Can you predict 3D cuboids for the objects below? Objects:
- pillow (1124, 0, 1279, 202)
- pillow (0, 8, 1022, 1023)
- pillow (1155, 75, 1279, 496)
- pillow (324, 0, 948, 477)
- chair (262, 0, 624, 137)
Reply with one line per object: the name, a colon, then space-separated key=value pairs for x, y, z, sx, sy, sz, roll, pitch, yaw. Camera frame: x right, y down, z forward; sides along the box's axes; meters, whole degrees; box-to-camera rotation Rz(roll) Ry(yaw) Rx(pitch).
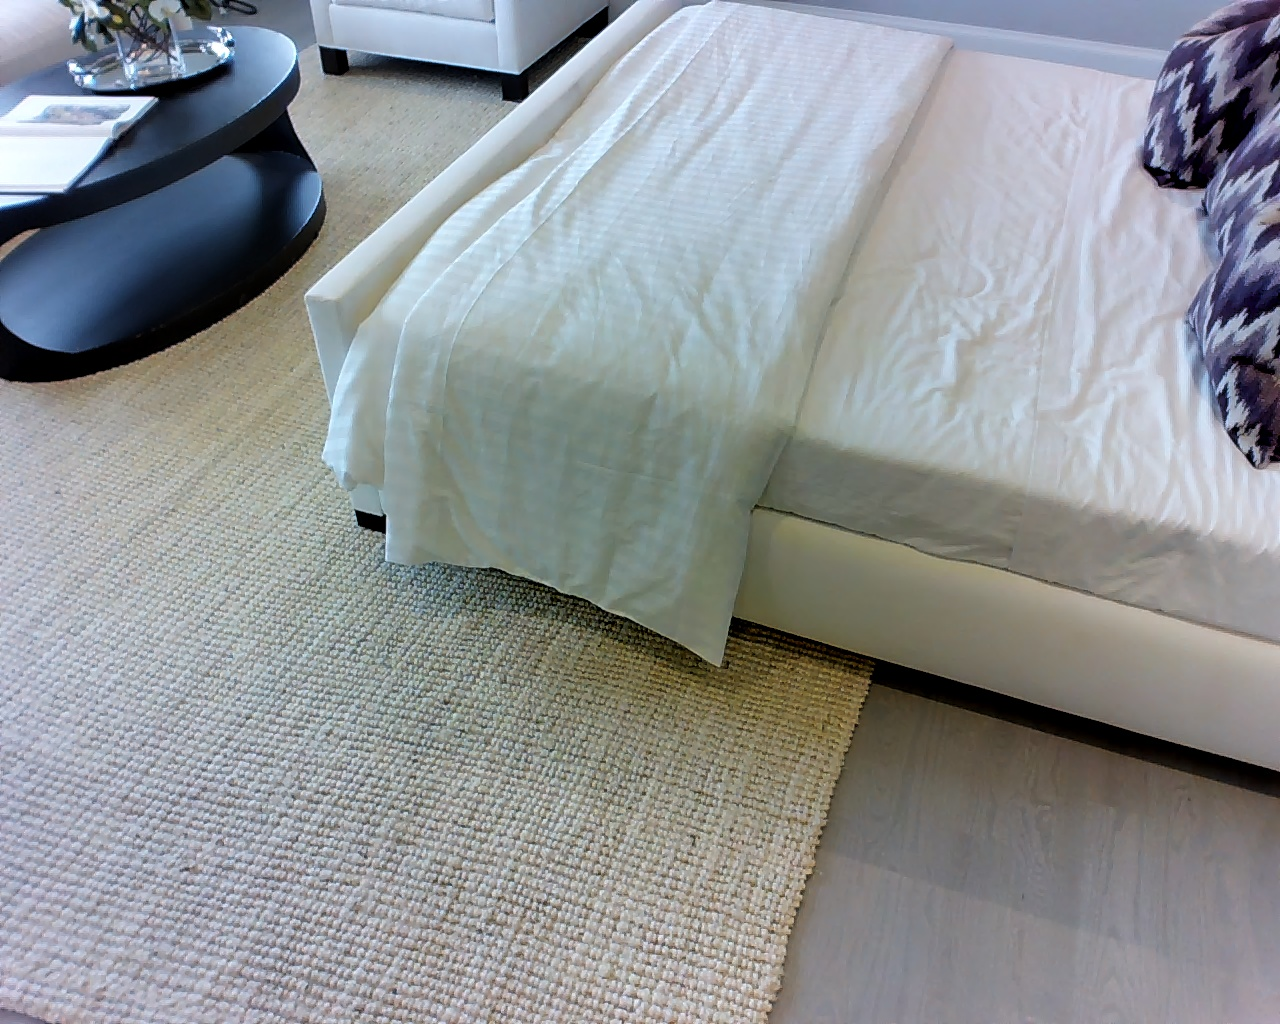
pillow: x=1.330 y=-0.990 z=2.420 sx=0.330 sy=0.400 sz=0.370 roll=14 pitch=44 yaw=14
pillow: x=-0.570 y=-0.640 z=3.050 sx=2.900 sy=0.010 sz=4.100 roll=14 pitch=43 yaw=14
pillow: x=1.070 y=-0.350 z=1.700 sx=0.320 sy=0.470 sz=0.470 roll=12 pitch=43 yaw=12
pillow: x=0.200 y=-0.870 z=2.490 sx=0.700 sy=0.060 sz=2.280 roll=14 pitch=43 yaw=14
chair: x=-0.710 y=-2.140 z=4.070 sx=1.000 sy=0.910 sz=1.070 roll=14 pitch=43 yaw=14
